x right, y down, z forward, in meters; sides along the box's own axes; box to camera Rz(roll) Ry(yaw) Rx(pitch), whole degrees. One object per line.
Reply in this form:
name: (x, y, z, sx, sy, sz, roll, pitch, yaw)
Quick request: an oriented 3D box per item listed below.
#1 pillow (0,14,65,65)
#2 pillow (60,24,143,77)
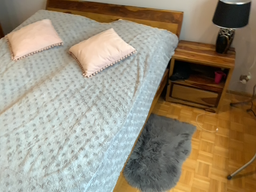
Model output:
pillow: (-0.910, -0.530, 1.890, 0.480, 0.180, 0.510, -24, 45, -29)
pillow: (-0.220, -0.400, 1.750, 0.530, 0.170, 0.410, -21, 43, -27)
